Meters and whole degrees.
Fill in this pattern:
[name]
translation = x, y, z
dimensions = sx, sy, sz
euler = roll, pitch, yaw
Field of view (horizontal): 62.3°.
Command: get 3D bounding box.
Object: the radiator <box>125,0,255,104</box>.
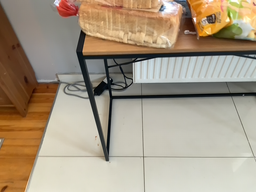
[radiator]
translation = 0.510, -0.250, 1.240
dimensions = 1.020, 0.680, 0.160
euler = 4, 51, 5
